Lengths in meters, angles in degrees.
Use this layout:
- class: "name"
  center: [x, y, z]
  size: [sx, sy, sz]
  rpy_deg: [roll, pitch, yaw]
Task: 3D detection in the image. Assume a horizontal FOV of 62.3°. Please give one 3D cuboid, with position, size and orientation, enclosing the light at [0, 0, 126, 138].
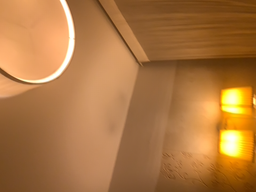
- class: "light"
  center: [-0.350, -0.240, 0.750]
  size: [0.190, 0.560, 0.580]
  rpy_deg: [-13, -43, 45]

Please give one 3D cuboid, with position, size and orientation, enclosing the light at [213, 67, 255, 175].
- class: "light"
  center: [0.580, 0.110, 1.120]
  size: [0.180, 0.530, 0.150]
  rpy_deg: [1, -29, 30]
